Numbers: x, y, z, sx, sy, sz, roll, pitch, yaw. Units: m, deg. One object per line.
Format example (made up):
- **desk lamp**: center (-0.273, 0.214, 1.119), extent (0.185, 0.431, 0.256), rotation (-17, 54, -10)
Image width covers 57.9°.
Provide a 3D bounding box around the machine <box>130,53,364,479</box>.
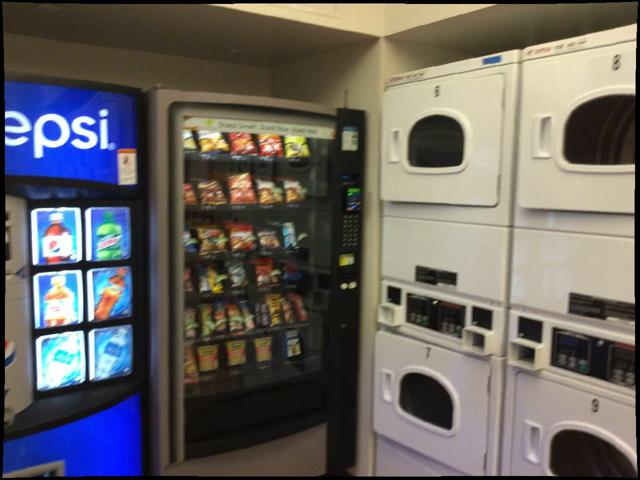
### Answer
- **machine**: center (-0.300, 0.210, 2.430), extent (0.849, 1.762, 0.400), rotation (-3, 7, -33)
